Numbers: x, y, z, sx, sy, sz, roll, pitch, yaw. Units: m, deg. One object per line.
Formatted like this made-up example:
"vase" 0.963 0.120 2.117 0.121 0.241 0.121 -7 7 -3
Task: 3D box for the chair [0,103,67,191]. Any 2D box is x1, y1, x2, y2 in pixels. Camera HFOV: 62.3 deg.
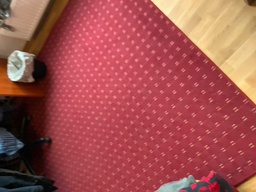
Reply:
"chair" -1.310 0.620 1.780 0.860 1.080 0.710 48 115 27
